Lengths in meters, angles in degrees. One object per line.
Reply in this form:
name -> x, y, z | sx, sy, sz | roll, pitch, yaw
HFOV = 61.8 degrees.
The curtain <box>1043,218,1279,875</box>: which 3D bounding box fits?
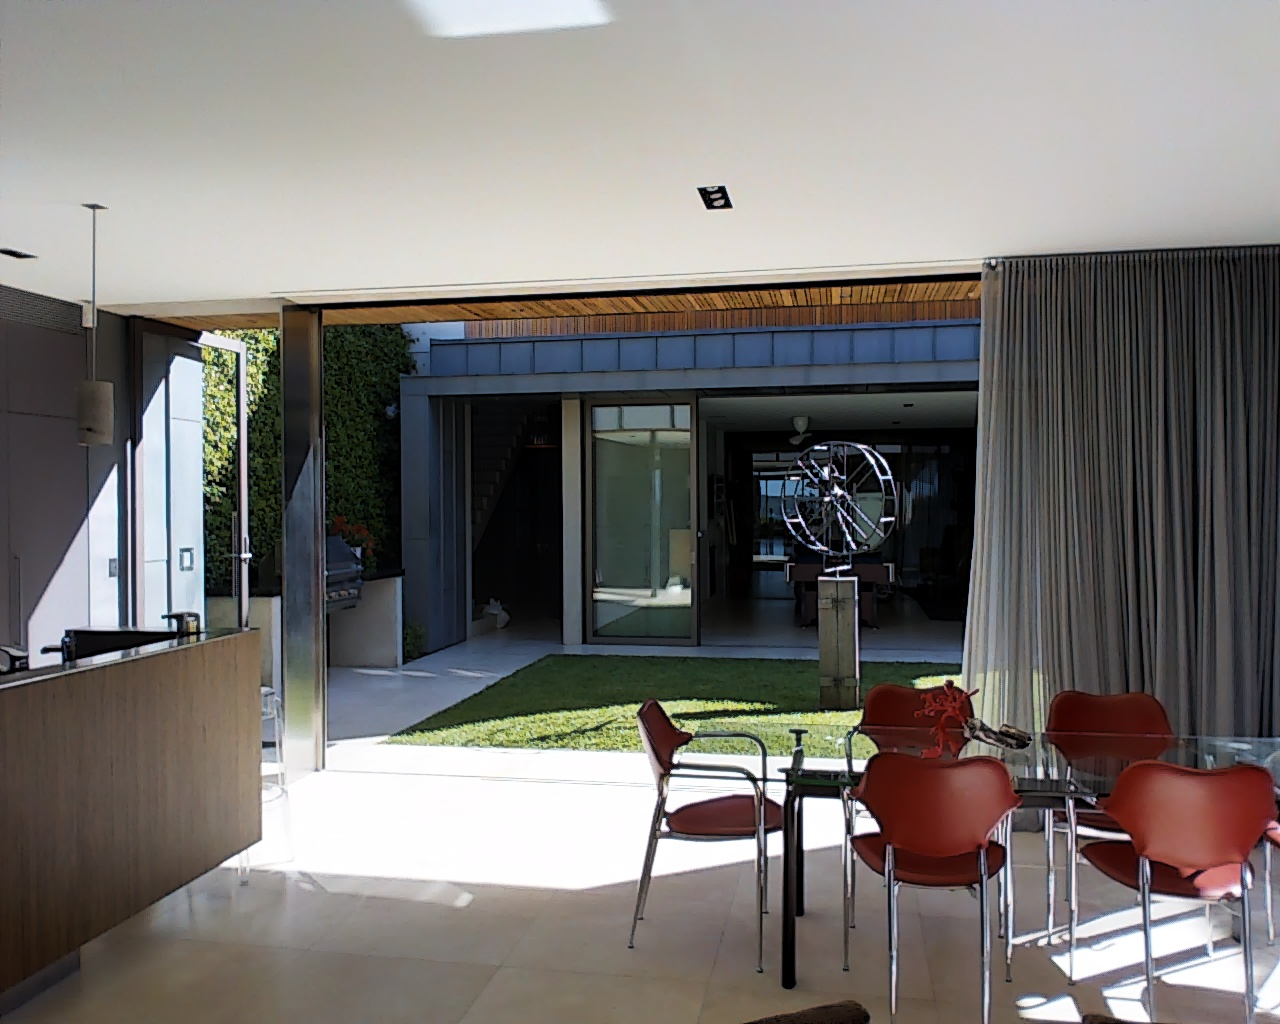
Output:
curtain -> 2.329, 0.150, 4.740 | 0.990, 2.791, 0.250 | 0, 1, 12
